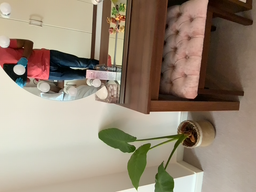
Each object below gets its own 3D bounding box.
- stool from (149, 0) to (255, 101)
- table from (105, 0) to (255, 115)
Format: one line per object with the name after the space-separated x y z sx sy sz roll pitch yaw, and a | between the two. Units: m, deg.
0.500 -0.290 1.430 0.370 0.540 0.590 19 105 58 | stool
0.370 -0.570 1.410 0.490 0.810 1.290 16 102 59 | table
